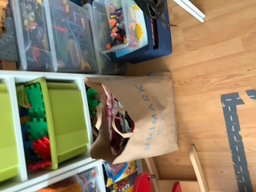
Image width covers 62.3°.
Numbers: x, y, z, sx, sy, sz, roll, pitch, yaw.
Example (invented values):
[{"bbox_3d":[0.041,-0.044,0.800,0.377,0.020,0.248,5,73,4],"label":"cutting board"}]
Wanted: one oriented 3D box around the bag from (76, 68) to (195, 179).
[{"bbox_3d":[0.070,0.110,1.080,0.310,0.530,0.410,-11,86,36],"label":"bag"}]
